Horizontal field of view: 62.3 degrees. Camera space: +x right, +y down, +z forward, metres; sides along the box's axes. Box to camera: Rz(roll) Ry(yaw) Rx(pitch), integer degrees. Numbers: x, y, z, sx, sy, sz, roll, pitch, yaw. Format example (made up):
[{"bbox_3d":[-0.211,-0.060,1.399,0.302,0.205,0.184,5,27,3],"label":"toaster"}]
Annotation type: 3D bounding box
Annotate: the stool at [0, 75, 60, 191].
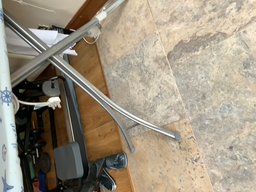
[{"bbox_3d":[-1.150,0.400,2.100,0.330,0.620,1.170,-29,71,40],"label":"stool"}]
